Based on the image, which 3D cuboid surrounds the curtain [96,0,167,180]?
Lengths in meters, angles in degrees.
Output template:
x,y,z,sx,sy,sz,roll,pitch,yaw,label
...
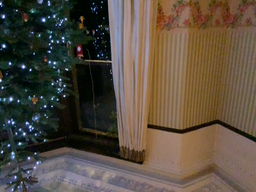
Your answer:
x,y,z,sx,sy,sz,roll,pitch,yaw,label
0.070,-0.570,2.650,0.620,3.260,0.570,10,-158,31,curtain
